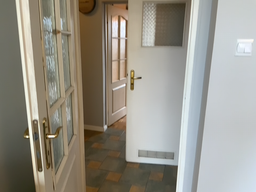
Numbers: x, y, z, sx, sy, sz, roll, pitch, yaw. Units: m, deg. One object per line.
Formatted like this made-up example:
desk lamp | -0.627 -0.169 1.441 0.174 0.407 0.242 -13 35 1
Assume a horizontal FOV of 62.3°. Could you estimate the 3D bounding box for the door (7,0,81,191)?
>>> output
door | -0.410 0.160 1.290 0.100 1.930 0.910 0 15 -6
